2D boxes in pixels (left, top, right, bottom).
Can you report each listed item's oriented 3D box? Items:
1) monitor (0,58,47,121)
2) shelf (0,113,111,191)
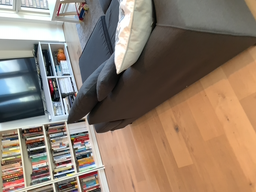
[{"bbox_3d":[-1.960,-0.160,3.810,0.060,0.750,1.210,-43,60,46],"label":"monitor"},{"bbox_3d":[-1.320,1.190,2.720,0.350,2.080,1.660,-46,56,51],"label":"shelf"}]
